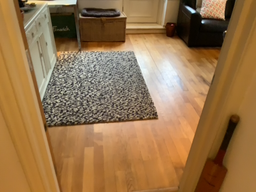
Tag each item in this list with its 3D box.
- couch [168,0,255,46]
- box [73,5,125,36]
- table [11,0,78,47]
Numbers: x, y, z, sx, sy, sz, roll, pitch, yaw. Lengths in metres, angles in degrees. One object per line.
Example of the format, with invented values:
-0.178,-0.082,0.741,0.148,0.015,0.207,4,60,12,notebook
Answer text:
1.720,-1.520,4.040,1.600,0.820,0.930,-2,35,-7,couch
-0.540,-1.420,4.000,0.890,0.430,0.480,-3,35,-8,box
-1.350,-1.380,3.670,0.840,0.760,0.890,-2,35,-8,table
